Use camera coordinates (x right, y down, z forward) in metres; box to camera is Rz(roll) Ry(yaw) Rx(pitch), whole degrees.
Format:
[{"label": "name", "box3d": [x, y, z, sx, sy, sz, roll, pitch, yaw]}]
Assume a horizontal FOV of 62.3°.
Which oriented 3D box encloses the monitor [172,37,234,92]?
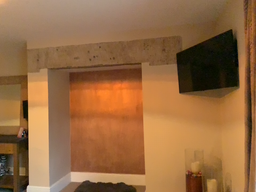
[{"label": "monitor", "box3d": [0.790, -0.300, 2.410, 0.070, 0.500, 0.930, -2, 1, -21]}]
